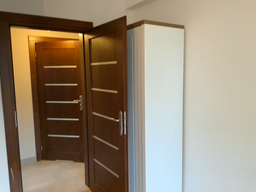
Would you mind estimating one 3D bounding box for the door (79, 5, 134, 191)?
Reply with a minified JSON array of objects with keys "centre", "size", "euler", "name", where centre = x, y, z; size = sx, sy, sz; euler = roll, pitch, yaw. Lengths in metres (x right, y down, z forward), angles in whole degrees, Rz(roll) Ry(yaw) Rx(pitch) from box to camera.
[{"centre":[-0.260,0.230,2.360],"size":[0.100,2.150,0.890],"euler":[-6,9,-38],"name":"door"}]
